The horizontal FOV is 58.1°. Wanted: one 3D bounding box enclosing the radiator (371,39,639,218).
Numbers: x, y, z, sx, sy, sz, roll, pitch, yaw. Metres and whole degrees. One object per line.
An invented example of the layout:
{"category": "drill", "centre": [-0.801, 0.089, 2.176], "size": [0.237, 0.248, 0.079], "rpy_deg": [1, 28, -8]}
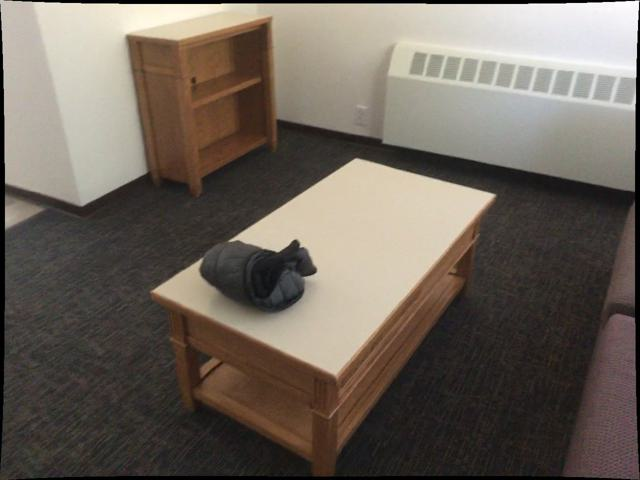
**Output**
{"category": "radiator", "centre": [1.268, -0.501, 2.770], "size": [2.107, 0.641, 0.170], "rpy_deg": [16, 35, 23]}

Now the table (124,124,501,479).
{"category": "table", "centre": [0.070, 0.120, 1.820], "size": [0.659, 0.541, 1.100], "rpy_deg": [15, 35, 23]}
